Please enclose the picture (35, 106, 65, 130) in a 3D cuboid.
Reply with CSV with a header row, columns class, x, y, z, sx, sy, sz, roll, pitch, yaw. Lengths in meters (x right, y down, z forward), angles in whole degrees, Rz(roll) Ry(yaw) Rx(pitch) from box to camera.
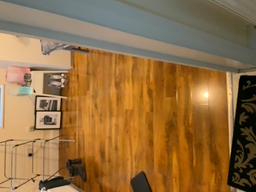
class,x,y,z,sx,sy,sz,roll,pitch,yaw
picture,-1.360,0.380,3.700,0.190,0.400,0.310,-2,99,52
